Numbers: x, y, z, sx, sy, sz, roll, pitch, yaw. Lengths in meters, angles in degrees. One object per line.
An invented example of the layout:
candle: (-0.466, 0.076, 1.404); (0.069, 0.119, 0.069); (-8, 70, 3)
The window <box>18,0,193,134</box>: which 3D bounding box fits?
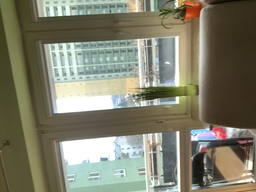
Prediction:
window: (-0.150, -0.600, 1.860); (0.100, 1.450, 1.800); (-115, 21, -77)
